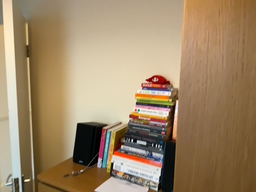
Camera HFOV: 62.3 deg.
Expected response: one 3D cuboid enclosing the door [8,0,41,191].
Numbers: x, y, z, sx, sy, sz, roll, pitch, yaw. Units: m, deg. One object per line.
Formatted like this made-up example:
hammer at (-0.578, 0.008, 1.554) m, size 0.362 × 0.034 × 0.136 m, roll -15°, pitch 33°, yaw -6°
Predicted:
door at (-0.710, 0.380, 1.540) m, size 0.060 × 2.130 × 0.720 m, roll -1°, pitch 10°, yaw -18°
